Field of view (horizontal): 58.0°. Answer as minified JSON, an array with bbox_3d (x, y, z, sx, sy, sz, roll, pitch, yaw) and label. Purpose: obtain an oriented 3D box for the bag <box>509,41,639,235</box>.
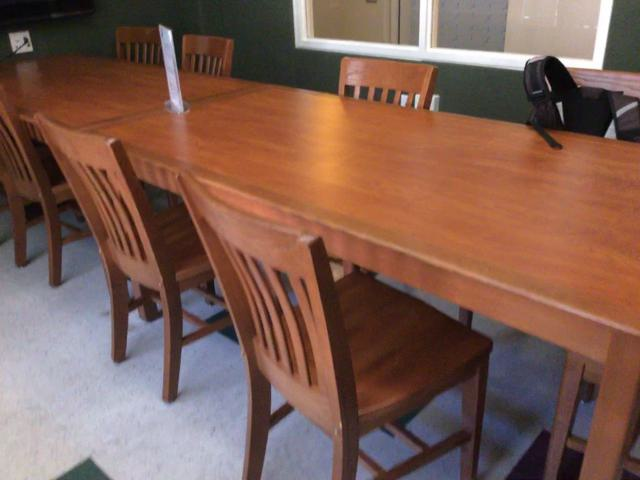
[{"bbox_3d":[0.810,-0.310,1.740,0.410,0.510,0.250,4,28,15],"label":"bag"}]
